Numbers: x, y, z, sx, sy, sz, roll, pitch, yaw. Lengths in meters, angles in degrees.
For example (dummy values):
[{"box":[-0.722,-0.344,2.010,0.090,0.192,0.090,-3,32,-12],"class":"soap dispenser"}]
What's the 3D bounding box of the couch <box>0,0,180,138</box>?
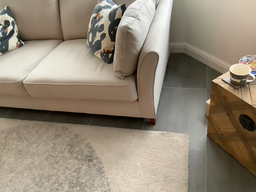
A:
[{"box":[-0.650,-0.470,1.900,2.050,0.900,1.060,5,46,19],"class":"couch"}]
